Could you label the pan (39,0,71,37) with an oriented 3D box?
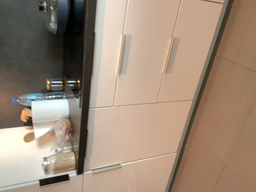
[{"bbox_3d":[-0.420,-0.490,1.200,0.260,0.140,0.240,49,135,52],"label":"pan"}]
